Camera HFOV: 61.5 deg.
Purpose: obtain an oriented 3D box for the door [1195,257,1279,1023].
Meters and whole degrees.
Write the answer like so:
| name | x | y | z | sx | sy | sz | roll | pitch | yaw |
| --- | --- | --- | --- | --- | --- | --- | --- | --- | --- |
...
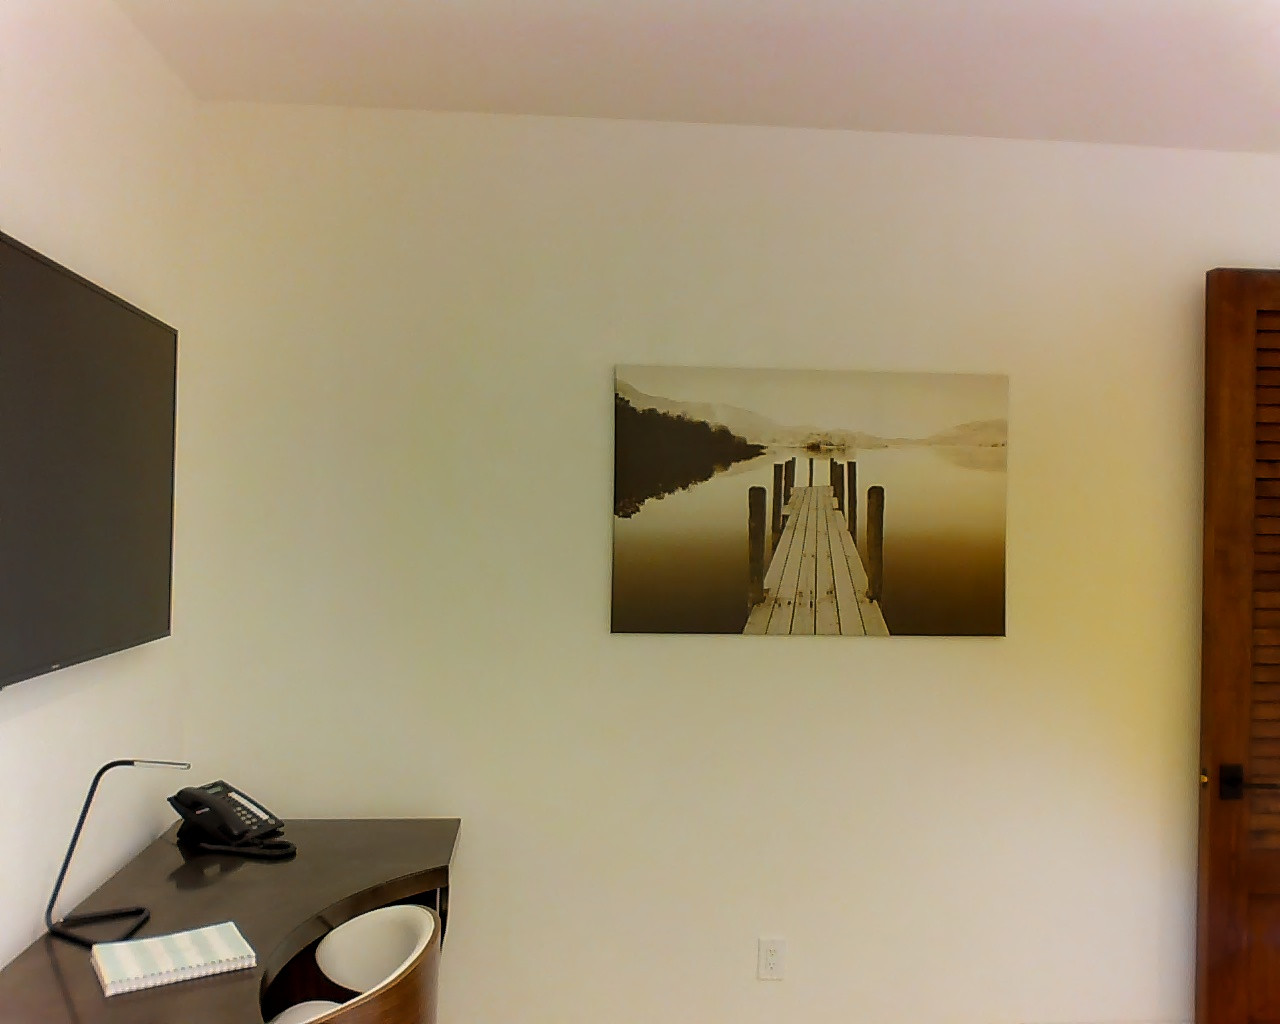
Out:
| name | x | y | z | sx | sy | sz | roll | pitch | yaw |
| --- | --- | --- | --- | --- | --- | --- | --- | --- | --- |
| door | 2.050 | 0.420 | 3.130 | 0.770 | 2.290 | 0.090 | 1 | 0 | 2 |
